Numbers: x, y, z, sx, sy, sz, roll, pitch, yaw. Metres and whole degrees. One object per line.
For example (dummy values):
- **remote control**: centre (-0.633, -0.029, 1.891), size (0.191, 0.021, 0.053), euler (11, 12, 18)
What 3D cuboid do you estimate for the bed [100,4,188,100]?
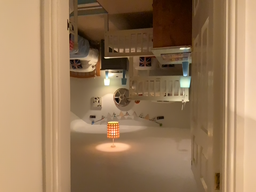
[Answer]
- **bed**: centre (0.480, -0.730, 4.570), size (1.470, 1.500, 2.160), euler (1, -178, 14)

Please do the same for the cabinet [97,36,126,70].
- **cabinet**: centre (-0.420, -1.120, 5.630), size (0.630, 0.790, 0.550), euler (1, -178, 15)
